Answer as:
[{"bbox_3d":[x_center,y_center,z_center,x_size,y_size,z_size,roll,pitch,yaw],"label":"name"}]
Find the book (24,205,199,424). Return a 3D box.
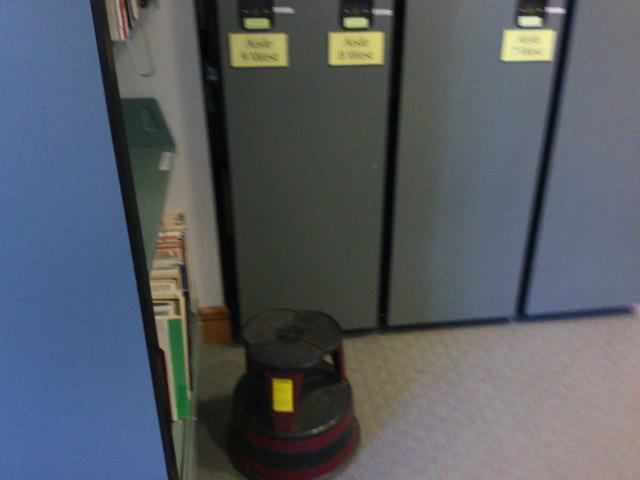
[{"bbox_3d":[-0.540,0.160,1.660,0.340,0.250,0.700,-8,25,-8],"label":"book"}]
